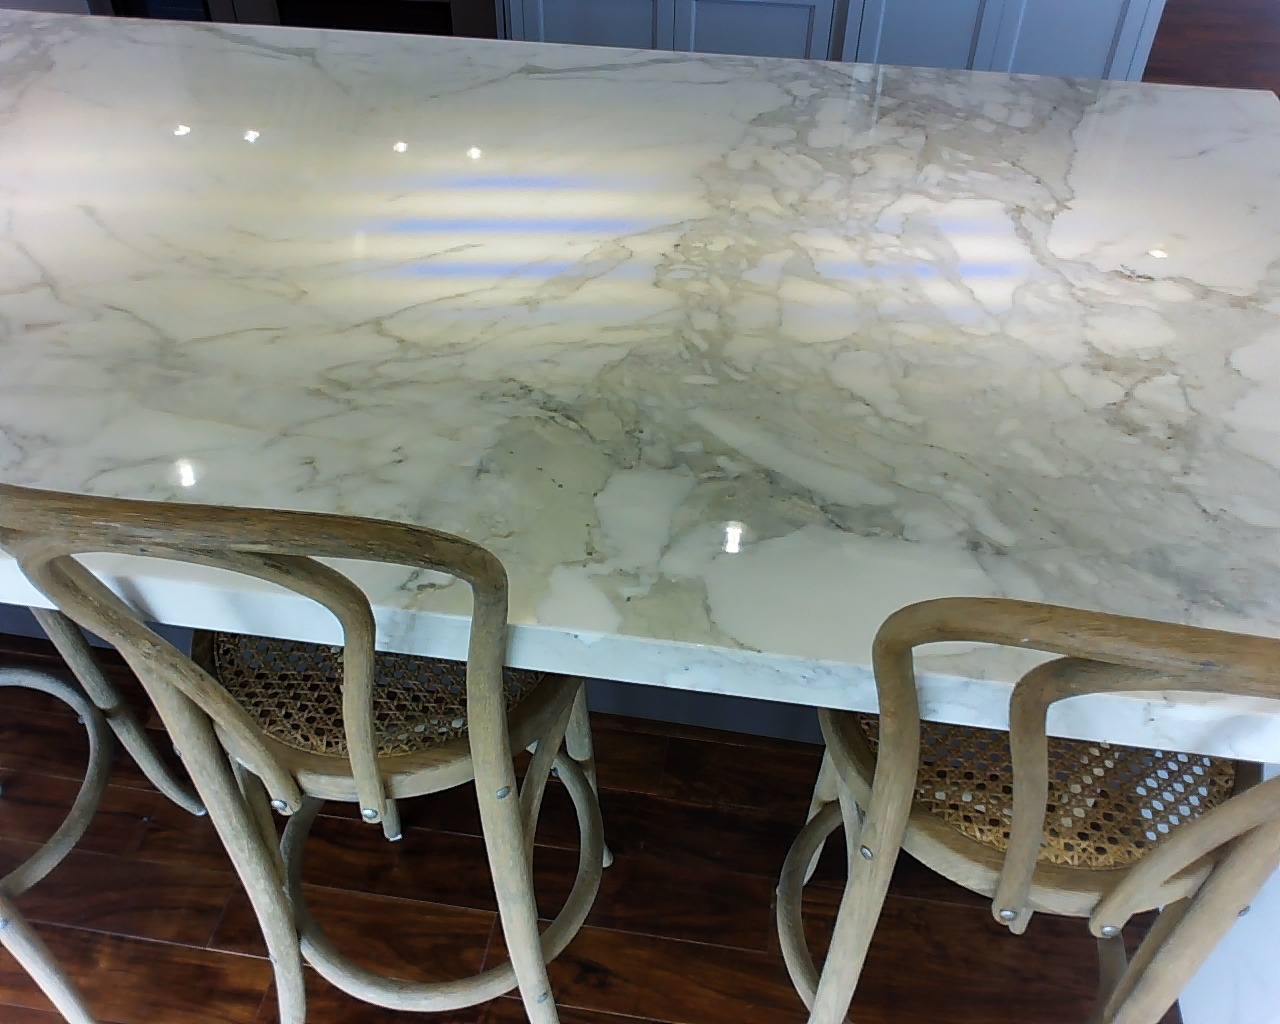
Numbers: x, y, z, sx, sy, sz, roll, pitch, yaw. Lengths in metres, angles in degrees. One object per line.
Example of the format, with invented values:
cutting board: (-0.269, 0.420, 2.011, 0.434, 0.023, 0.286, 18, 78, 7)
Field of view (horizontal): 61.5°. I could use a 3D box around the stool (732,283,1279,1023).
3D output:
stool: (0.390, 0.370, 1.140, 0.520, 1.040, 0.510, 7, 42, 7)
